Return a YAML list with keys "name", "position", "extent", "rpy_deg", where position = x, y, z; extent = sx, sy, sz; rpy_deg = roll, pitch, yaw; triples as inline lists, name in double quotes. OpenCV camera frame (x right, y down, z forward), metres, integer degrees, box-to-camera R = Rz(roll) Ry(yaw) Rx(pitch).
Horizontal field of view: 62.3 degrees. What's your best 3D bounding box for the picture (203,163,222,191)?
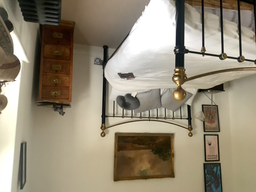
- name: "picture"
  position: [1.440, 1.430, 3.620]
  extent: [0.350, 0.530, 0.030]
  rpy_deg: [4, 172, -18]
